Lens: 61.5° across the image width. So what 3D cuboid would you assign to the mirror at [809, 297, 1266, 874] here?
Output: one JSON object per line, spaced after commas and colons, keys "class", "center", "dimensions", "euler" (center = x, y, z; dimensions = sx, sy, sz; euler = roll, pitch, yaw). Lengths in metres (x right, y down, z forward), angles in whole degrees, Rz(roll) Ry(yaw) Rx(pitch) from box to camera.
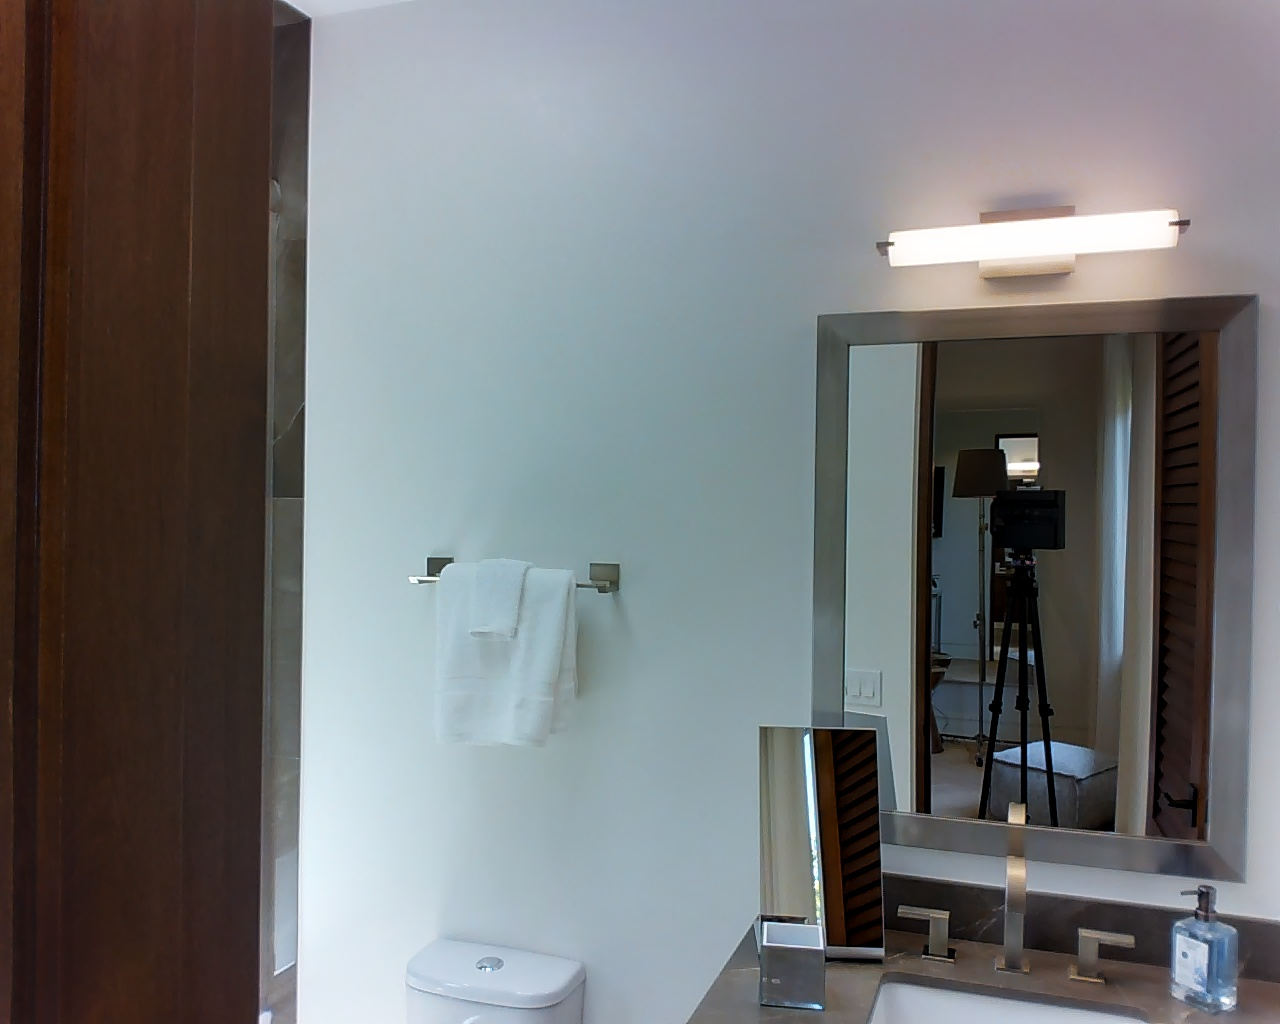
{"class": "mirror", "center": [0.700, 0.120, 1.970], "dimensions": [0.760, 0.970, 0.080], "euler": [1, 0, 19]}
